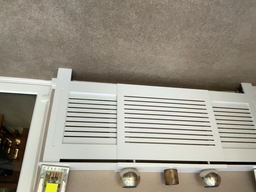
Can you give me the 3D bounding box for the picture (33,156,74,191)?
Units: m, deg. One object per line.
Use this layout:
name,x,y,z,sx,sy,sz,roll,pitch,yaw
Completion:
picture,-0.520,0.600,1.490,0.200,0.280,0.140,12,148,-6
